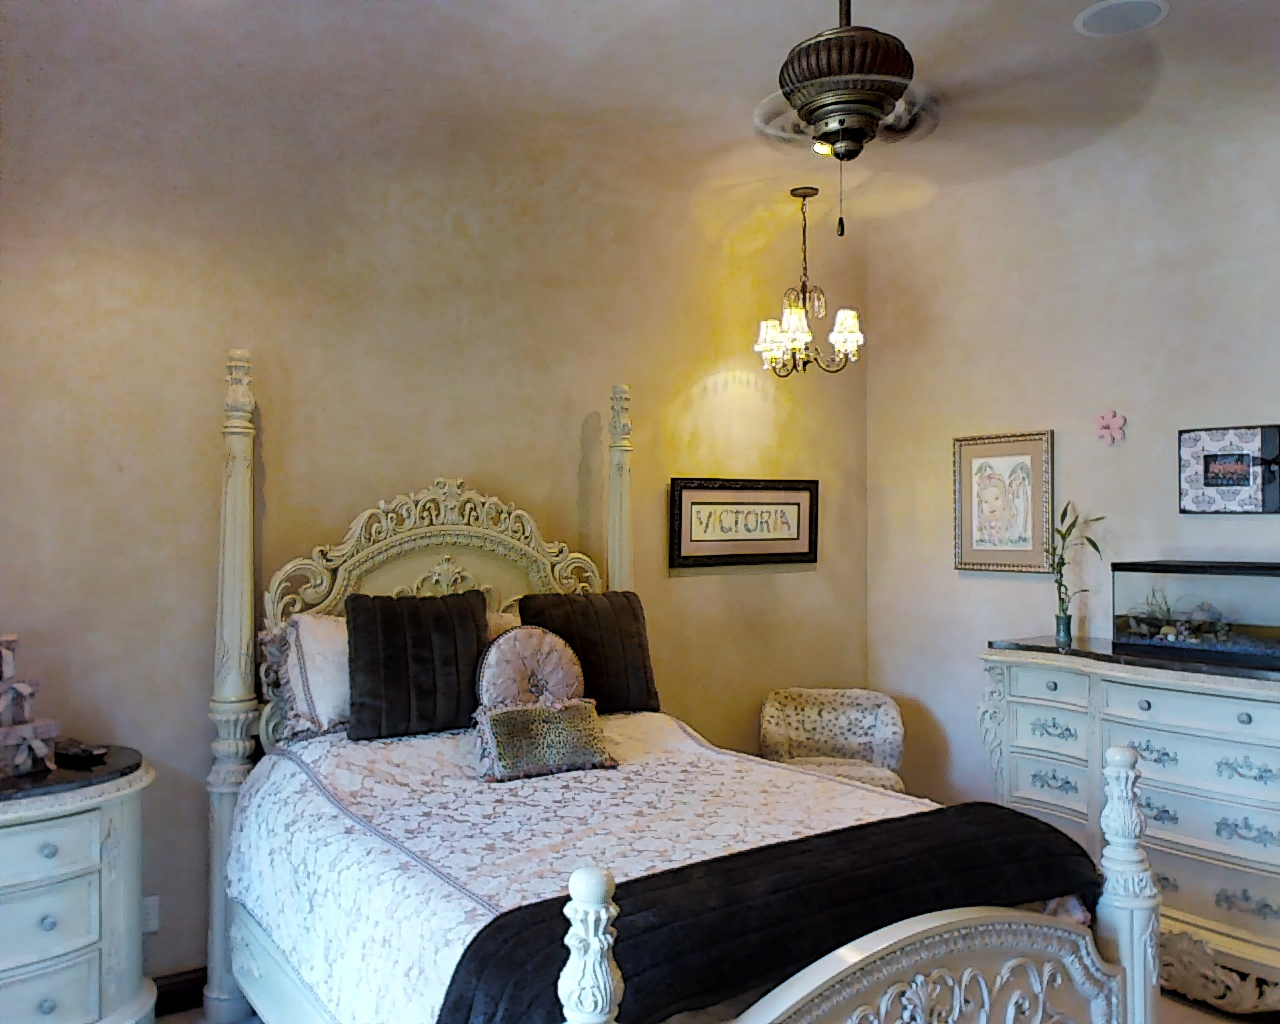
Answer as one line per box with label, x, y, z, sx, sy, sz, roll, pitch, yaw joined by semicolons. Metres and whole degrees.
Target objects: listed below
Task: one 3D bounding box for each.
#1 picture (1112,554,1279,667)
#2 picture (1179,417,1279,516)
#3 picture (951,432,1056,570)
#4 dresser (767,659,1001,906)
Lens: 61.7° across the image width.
picture;2.100;0.330;3.710;0.360;0.350;0.770;0;-1;-36
picture;2.160;-0.160;3.910;0.040;0.340;0.360;0;-1;-36
picture;1.590;-0.040;4.710;0.050;0.580;0.490;0;-1;-36
dresser;1.140;1.190;4.950;1.040;0.900;0.480;0;-1;-36
